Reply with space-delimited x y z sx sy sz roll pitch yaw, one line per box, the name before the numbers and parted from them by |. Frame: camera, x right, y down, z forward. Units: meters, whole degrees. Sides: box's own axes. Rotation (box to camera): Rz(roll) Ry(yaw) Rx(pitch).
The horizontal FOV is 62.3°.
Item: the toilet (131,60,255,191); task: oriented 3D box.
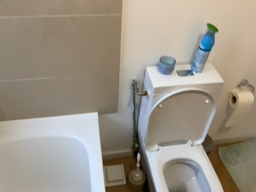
toilet | 0.320 0.370 1.210 0.400 0.890 0.670 -6 46 -11
